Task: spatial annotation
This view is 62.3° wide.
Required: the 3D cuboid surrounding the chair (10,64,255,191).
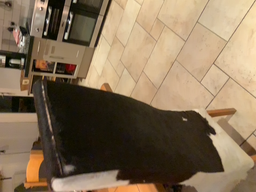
[{"bbox_3d":[0.150,0.340,1.020,0.490,1.190,0.670,59,133,41],"label":"chair"}]
